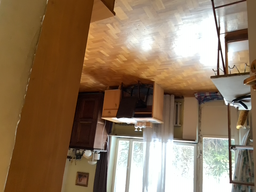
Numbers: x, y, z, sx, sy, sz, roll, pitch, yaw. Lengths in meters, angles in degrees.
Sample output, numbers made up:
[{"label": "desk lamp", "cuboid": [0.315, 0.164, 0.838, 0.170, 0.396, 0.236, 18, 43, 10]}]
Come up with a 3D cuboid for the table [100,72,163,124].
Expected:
[{"label": "table", "cuboid": [0.100, 0.090, 4.650, 1.120, 0.920, 0.720, -3, 164, 29]}]

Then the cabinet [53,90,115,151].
[{"label": "cabinet", "cuboid": [-1.140, 0.650, 5.550, 1.290, 1.400, 0.670, -3, 164, 30]}]

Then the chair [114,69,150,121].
[{"label": "chair", "cuboid": [0.100, 0.000, 4.270, 0.470, 0.930, 0.520, -2, 164, 26]}]

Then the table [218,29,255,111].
[{"label": "table", "cuboid": [1.630, -0.250, 2.500, 0.950, 0.680, 0.980, -3, 164, 28]}]

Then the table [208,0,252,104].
[{"label": "table", "cuboid": [0.920, -0.410, 1.890, 0.270, 0.790, 0.800, -3, 164, 28]}]
